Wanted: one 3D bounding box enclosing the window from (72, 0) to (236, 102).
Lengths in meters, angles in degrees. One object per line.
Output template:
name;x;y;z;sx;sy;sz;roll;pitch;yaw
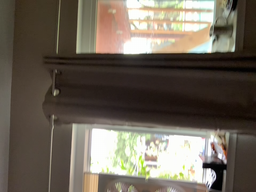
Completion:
window;0.150;-0.350;1.340;0.120;0.950;0.720;8;-95;-85

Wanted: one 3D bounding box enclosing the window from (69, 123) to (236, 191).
window;0.120;0.700;1.400;0.110;1.010;0.960;-47;-40;-83
